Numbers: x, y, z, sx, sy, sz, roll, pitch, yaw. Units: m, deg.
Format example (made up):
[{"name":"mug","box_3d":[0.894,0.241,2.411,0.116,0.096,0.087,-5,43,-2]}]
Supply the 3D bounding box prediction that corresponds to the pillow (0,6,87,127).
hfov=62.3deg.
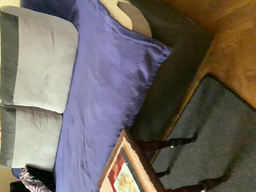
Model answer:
[{"name":"pillow","box_3d":[-0.580,-0.200,1.400,0.210,0.500,0.670,31,121,25]}]

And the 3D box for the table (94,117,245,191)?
[{"name":"table","box_3d":[0.150,0.410,1.020,0.380,0.430,0.460,57,136,41]}]
